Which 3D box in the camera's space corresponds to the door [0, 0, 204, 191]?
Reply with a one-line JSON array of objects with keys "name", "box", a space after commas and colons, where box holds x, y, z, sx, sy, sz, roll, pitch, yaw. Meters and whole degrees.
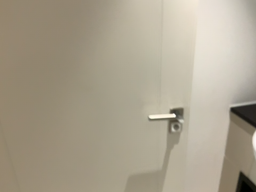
[{"name": "door", "box": [-0.130, 0.100, 0.820, 0.800, 2.030, 0.030, -6, 23, -9]}]
